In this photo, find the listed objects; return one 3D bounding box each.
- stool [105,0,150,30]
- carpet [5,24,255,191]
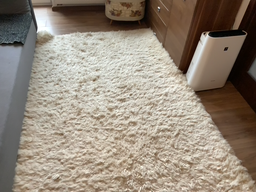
[{"bbox_3d":[-0.030,-1.220,2.900,0.530,0.430,0.460,-4,45,-9],"label":"stool"},{"bbox_3d":[-0.150,-0.040,1.970,1.600,0.070,2.380,-8,46,-13],"label":"carpet"}]
